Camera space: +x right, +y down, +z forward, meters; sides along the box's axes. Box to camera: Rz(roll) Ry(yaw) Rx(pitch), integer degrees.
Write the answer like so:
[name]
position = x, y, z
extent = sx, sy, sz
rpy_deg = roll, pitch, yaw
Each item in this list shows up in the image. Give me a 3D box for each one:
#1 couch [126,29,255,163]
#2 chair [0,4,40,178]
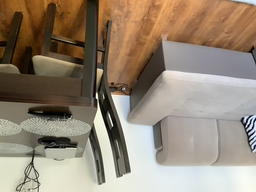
[couch]
position = 0.520, 0.110, 1.990
extent = 0.850, 0.840, 1.030
rpy_deg = 3, 154, -12
[chair]
position = -0.950, -0.050, 1.320
extent = 0.560, 1.030, 0.410
rpy_deg = 3, 154, -11
